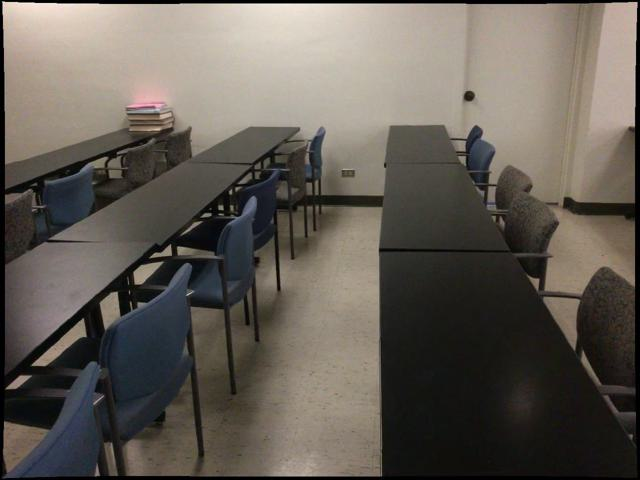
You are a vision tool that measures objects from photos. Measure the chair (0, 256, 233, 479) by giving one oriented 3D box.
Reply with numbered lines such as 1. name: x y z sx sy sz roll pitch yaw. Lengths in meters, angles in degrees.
1. chair: -0.708 0.511 1.850 0.599 0.732 0.560 3 21 16

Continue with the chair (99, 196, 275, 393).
1. chair: -0.559 0.221 2.650 0.519 0.702 0.560 1 23 11

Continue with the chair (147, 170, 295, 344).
1. chair: -0.529 0.070 3.300 0.559 0.812 0.560 3 21 17
